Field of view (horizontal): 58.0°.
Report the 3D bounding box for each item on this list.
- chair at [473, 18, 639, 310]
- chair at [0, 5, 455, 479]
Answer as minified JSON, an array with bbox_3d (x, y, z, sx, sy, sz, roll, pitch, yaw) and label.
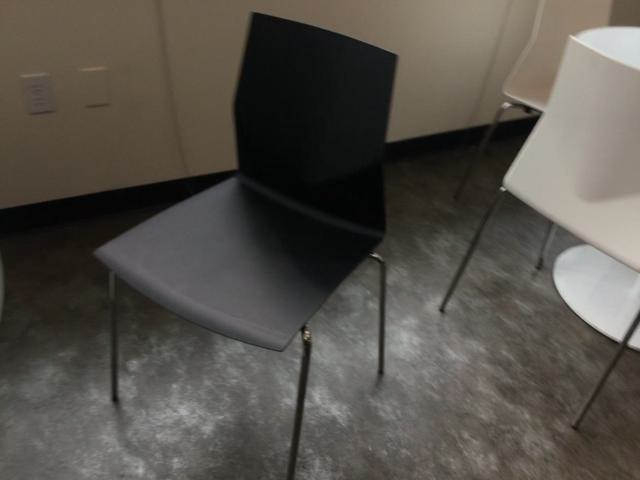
[{"bbox_3d":[0.880,-0.190,1.350,0.620,0.440,0.710,-14,39,-27],"label":"chair"},{"bbox_3d":[-0.140,0.020,1.220,0.570,0.790,0.570,17,36,15],"label":"chair"}]
